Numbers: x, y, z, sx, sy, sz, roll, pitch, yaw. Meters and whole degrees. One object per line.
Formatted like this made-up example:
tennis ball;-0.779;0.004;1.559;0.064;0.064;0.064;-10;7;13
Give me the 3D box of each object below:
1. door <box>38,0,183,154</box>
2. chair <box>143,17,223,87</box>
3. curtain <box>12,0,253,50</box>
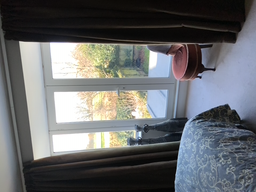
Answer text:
door;-0.260;-0.260;3.490;0.130;2.050;2.630;-117;28;-66
chair;0.710;-0.580;2.950;0.550;0.840;0.750;122;145;-71
curtain;0.110;-0.780;2.180;0.290;2.280;0.500;-112;24;-62
